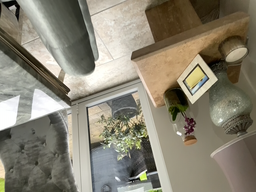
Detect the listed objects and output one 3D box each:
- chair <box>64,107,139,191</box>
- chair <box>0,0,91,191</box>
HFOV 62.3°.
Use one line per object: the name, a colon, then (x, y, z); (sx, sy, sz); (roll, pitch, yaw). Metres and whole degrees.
chair: (-0.310, 0.840, 2.640); (0.680, 1.070, 0.730); (-13, 149, 2)
chair: (-0.680, 0.080, 1.290); (0.580, 1.040, 0.660); (-18, 148, 10)
